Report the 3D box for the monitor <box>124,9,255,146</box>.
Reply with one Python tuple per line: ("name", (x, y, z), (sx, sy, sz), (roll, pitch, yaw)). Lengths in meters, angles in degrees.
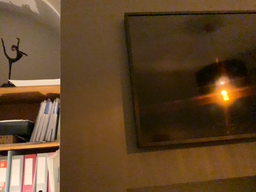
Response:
("monitor", (0.620, -0.150, 1.120), (1.230, 0.700, 0.040), (-4, -17, -6))
